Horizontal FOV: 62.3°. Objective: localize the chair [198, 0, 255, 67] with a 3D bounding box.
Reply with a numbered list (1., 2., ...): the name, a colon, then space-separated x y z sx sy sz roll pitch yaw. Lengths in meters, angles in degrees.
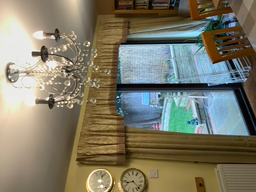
1. chair: 1.150 -0.590 1.580 0.620 1.020 0.430 88 -178 -52
